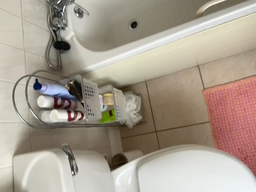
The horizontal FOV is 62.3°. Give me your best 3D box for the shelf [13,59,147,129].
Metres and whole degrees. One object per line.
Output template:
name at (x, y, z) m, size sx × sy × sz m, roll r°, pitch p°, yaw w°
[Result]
shelf at (-0.150, 0.040, 1.070) m, size 0.200 × 0.780 × 0.190 m, roll -18°, pitch 76°, yaw 22°
